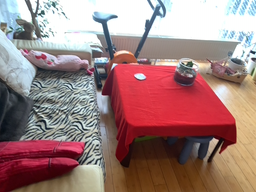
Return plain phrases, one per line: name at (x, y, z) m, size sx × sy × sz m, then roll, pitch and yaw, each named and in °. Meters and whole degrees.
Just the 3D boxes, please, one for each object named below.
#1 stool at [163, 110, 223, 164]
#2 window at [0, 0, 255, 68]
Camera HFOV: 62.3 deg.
stool at (0.510, 0.330, 1.740) m, size 0.290 × 0.310 × 0.290 m, roll -1°, pitch 39°, yaw -14°
window at (0.430, -1.400, 2.330) m, size 3.520 × 2.290 × 0.230 m, roll 0°, pitch 39°, yaw -14°
